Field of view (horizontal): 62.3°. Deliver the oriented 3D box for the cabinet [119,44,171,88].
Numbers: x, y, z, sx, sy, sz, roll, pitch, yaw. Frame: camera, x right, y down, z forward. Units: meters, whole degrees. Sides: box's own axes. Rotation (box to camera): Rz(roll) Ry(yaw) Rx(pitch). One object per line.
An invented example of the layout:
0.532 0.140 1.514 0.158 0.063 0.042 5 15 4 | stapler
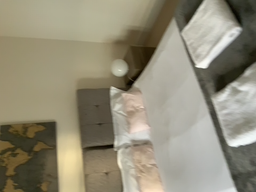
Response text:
0.220 -0.420 3.080 0.500 0.530 0.410 120 143 -56 | cabinet
